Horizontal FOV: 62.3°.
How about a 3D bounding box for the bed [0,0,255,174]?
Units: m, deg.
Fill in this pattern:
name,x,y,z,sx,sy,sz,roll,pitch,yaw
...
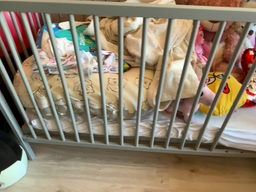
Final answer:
name,x,y,z,sx,sy,sz,roll,pitch,yaw
bed,0.180,-0.200,1.020,1.390,0.850,0.730,3,44,1
